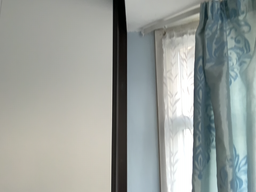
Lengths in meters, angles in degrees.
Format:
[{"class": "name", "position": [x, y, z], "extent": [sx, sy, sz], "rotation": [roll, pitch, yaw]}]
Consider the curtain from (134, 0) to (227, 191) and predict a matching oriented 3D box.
[{"class": "curtain", "position": [0.200, 0.300, 0.890], "extent": [0.310, 1.530, 0.260], "rotation": [-1, -10, 5]}]
